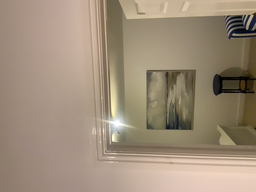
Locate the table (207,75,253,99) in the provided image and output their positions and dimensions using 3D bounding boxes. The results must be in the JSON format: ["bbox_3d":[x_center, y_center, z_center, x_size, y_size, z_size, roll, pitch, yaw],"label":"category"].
[{"bbox_3d":[1.870,-0.180,3.930,0.400,0.640,0.390,-64,-26,-77],"label":"table"}]
